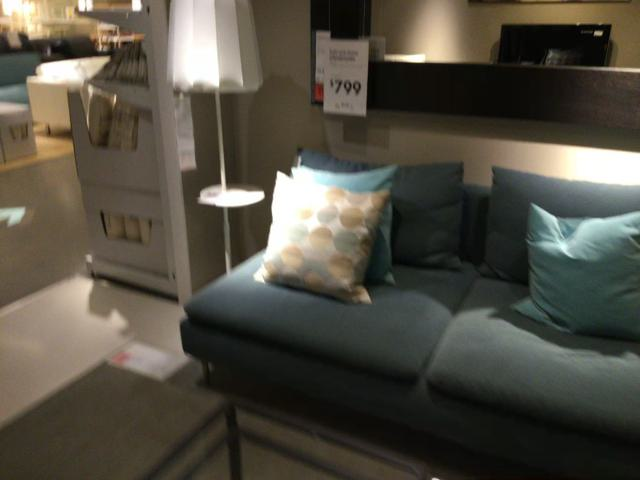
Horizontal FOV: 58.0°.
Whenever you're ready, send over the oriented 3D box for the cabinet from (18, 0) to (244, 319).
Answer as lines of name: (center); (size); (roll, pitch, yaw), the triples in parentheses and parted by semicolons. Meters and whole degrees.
cabinet: (-0.880, -0.640, 2.810); (0.810, 1.800, 0.580); (13, 22, 27)
